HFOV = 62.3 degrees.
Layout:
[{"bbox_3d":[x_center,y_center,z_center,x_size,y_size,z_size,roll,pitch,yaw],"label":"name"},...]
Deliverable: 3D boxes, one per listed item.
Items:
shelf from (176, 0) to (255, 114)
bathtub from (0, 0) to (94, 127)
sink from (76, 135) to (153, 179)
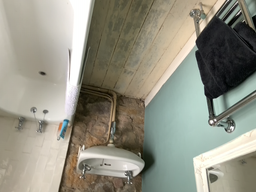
[{"bbox_3d":[0.540,-0.330,1.220,0.290,0.690,0.480,11,148,-11],"label":"shelf"},{"bbox_3d":[-0.680,-0.360,1.540,0.700,0.520,1.640,12,148,-13],"label":"bathtub"},{"bbox_3d":[-0.130,0.580,1.970,0.630,0.240,0.350,11,148,-13],"label":"sink"}]
